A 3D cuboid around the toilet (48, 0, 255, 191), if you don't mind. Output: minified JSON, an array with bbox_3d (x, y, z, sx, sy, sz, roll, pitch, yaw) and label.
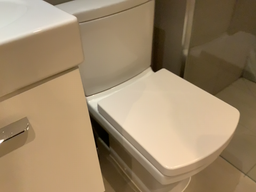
[{"bbox_3d":[0.080,0.040,0.870,0.400,0.760,0.590,-27,46,-27],"label":"toilet"}]
